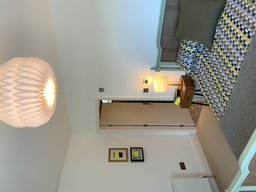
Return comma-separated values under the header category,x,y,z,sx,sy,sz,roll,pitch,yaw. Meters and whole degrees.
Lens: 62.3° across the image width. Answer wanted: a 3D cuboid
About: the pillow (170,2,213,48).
category,x,y,z,sx,sy,sz,roll,pitch,yaw
pillow,0.770,-0.870,2.580,0.240,0.430,0.440,28,129,32
